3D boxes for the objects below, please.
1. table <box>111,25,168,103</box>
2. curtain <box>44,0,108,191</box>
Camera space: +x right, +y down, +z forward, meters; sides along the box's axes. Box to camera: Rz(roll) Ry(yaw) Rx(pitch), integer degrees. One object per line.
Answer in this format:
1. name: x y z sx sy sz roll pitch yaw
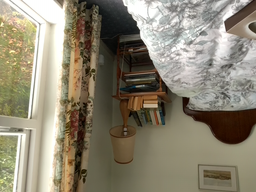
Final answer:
1. table: 0.140 -0.290 2.230 0.500 0.650 0.500 -3 169 13
2. curtain: -0.330 0.380 1.460 0.200 2.280 0.480 -2 169 12
